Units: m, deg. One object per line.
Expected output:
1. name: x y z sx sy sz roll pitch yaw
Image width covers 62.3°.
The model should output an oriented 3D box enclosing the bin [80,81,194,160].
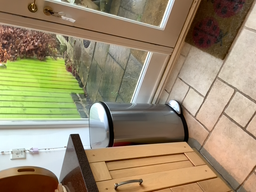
1. bin: 0.050 0.170 1.610 0.430 0.680 0.330 55 133 47
